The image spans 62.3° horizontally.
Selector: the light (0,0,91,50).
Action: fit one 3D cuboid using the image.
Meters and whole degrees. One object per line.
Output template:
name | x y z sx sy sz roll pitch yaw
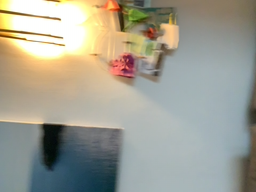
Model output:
light | -0.370 -0.320 0.800 0.110 0.440 0.220 -163 79 -78
